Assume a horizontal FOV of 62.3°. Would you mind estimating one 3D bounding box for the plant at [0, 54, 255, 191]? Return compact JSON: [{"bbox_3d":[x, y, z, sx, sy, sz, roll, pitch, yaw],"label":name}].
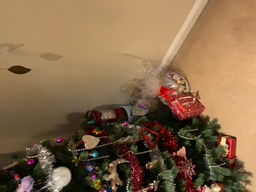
[{"bbox_3d":[-0.280,0.480,1.190,1.020,1.680,0.920,56,131,36],"label":"plant"}]
